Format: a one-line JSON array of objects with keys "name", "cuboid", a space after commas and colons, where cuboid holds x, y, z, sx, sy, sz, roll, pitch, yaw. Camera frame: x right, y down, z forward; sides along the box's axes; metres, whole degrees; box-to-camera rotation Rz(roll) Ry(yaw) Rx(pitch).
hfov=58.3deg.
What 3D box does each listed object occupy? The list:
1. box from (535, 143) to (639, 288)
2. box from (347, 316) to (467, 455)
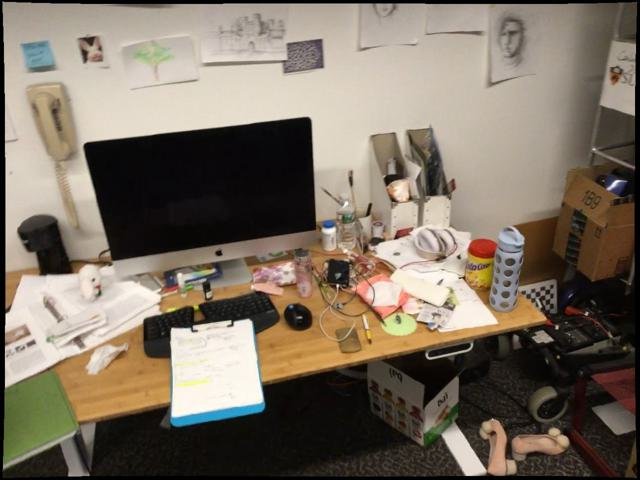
[{"name": "box", "cuboid": [1.079, -0.100, 2.090, 0.400, 0.360, 0.310, -11, 33, -13]}, {"name": "box", "cuboid": [0.320, 0.531, 2.150, 0.300, 0.280, 0.310, -27, 39, -33]}]
